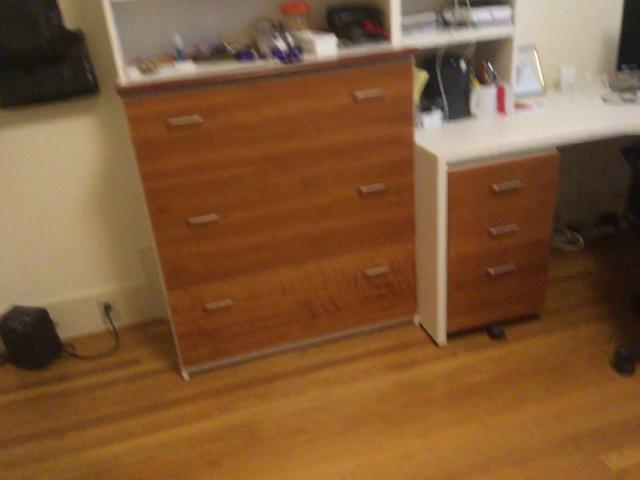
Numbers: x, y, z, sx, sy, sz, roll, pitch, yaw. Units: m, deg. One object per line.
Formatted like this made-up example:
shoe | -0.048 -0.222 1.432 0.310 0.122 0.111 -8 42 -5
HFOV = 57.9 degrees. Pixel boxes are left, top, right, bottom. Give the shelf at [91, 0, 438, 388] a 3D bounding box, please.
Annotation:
shelf | -0.180 -0.680 1.840 0.960 2.190 0.510 -11 25 -13

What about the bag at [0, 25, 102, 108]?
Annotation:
bag | -0.900 -0.560 1.860 0.330 0.210 0.130 -11 25 -13

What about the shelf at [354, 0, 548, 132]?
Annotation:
shelf | 0.420 -1.130 1.900 0.570 1.420 0.340 -11 25 -13
